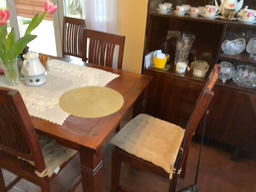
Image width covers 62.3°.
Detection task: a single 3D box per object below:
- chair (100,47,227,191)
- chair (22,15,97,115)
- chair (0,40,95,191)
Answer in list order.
[{"bbox_3d":[0.190,0.270,1.430,0.550,1.000,0.490,20,32,26],"label":"chair"},{"bbox_3d":[-0.750,-0.390,2.510,0.480,0.970,0.600,20,32,25],"label":"chair"},{"bbox_3d":[-0.590,0.250,1.350,0.560,1.010,0.530,15,31,18],"label":"chair"}]
